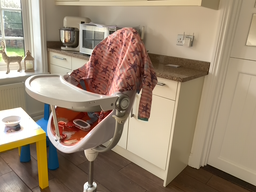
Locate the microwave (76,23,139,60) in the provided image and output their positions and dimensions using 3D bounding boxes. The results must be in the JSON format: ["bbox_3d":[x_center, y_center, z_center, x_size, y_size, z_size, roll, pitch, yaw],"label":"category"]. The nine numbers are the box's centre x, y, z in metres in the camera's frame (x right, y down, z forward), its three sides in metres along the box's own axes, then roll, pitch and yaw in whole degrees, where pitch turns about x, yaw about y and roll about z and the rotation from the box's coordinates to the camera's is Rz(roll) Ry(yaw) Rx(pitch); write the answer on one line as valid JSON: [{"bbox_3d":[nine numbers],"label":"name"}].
[{"bbox_3d":[-0.210,-0.530,2.030,0.520,0.270,0.330,20,24,39],"label":"microwave"}]
